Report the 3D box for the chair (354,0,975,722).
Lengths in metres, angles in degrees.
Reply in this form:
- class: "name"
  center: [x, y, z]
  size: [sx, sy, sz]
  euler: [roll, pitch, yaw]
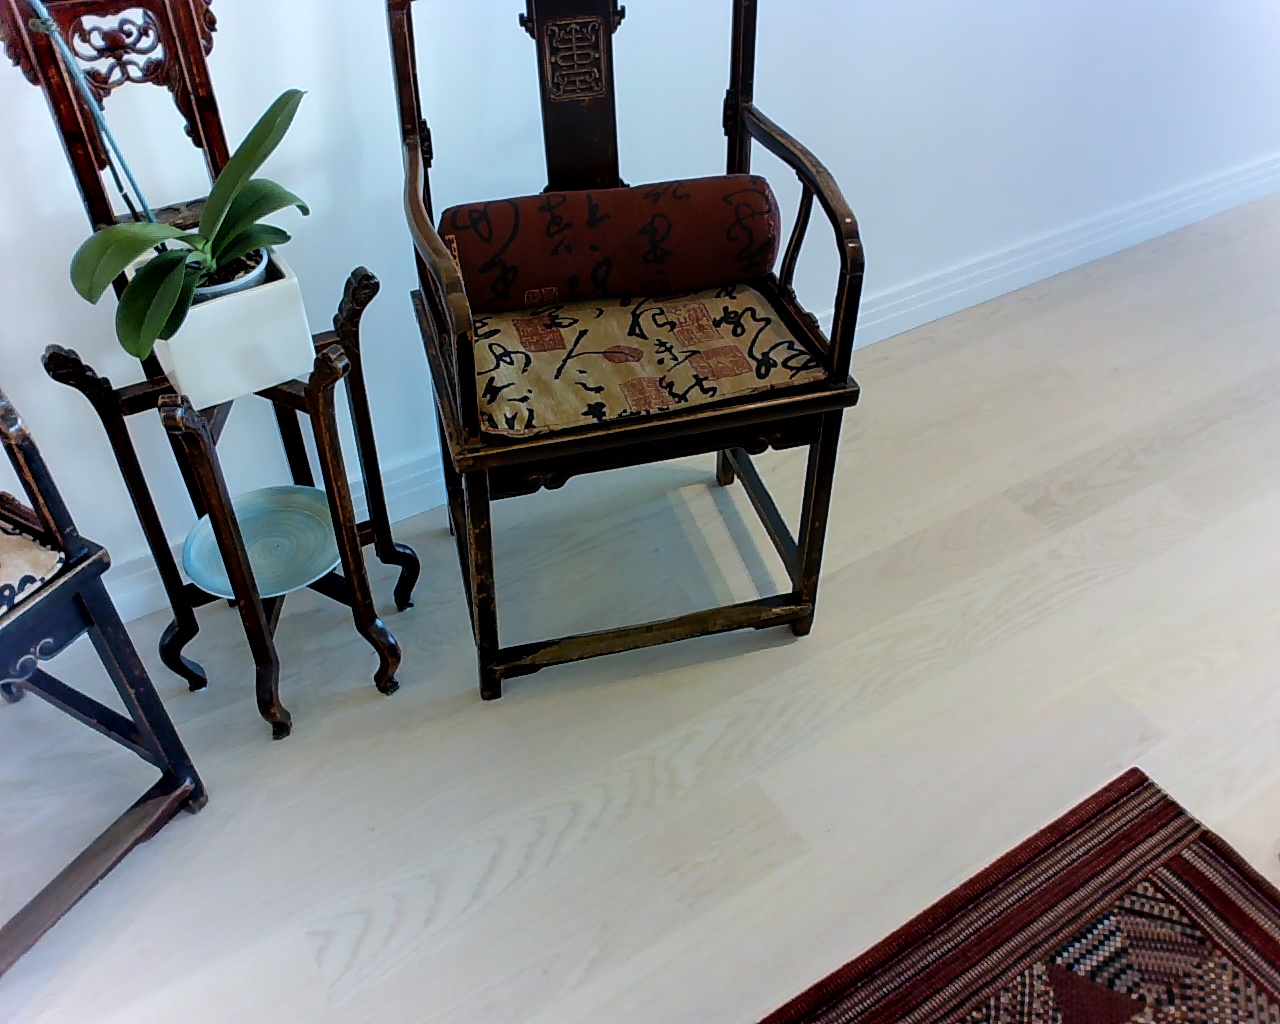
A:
- class: "chair"
  center: [-0.020, -0.290, 1.680]
  size: [0.650, 1.020, 0.590]
  euler: [-10, 42, -11]
